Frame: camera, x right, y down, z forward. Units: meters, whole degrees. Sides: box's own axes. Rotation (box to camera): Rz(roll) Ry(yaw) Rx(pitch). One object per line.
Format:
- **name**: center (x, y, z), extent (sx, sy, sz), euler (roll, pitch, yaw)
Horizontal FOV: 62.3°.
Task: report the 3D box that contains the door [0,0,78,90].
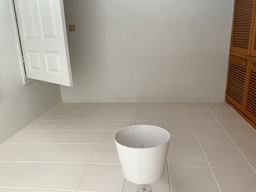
- **door**: center (-0.930, -1.150, 1.910), extent (0.920, 2.130, 0.120), euler (10, -159, 35)
